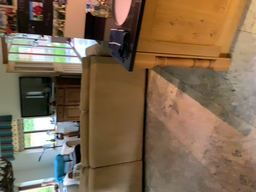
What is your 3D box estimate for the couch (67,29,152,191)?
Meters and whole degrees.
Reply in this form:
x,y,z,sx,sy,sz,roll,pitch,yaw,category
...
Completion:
x,y,z,sx,sy,sz,roll,pitch,yaw,category
-0.360,0.460,3.240,1.120,0.900,2.620,-164,74,-64,couch
